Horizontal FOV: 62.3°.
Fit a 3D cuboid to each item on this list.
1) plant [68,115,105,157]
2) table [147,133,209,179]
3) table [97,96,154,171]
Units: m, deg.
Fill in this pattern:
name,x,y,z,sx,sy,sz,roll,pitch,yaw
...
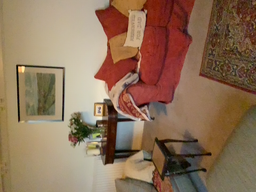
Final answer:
name,x,y,z,sx,sy,sz,roll,pitch,yaw
plant,-0.670,0.600,3.310,0.440,0.510,0.490,-136,50,-68
table,0.480,0.580,2.100,0.300,0.460,0.280,-119,34,-59
table,-0.070,0.590,3.490,0.480,0.740,1.070,-133,47,-67
